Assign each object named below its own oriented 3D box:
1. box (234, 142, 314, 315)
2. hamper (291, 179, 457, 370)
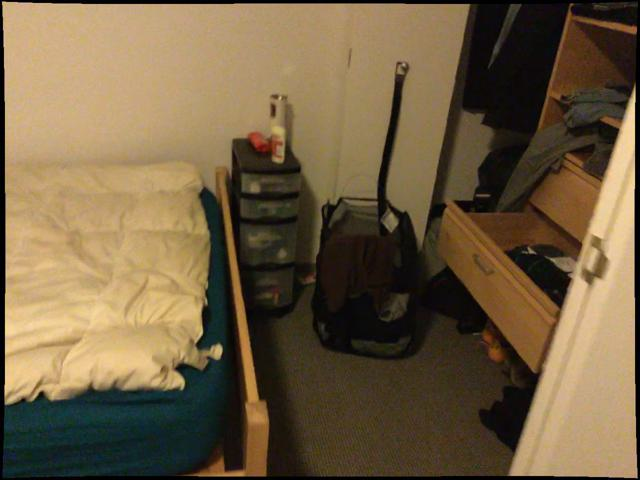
[{"bbox_3d":[-0.200,-0.050,2.300,0.230,0.570,0.370,-1,30,-14],"label":"box"},{"bbox_3d":[0.170,0.110,2.290,0.440,0.510,0.570,-1,30,-14],"label":"hamper"}]
